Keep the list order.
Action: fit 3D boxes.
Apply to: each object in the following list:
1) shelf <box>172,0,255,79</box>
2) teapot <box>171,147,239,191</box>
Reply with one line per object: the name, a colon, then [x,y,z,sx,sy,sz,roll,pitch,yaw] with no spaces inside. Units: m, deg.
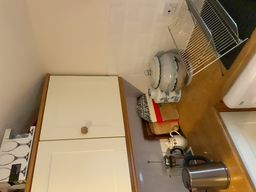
shelf: [0.430,-0.320,1.150,0.340,0.230,0.300,101,165,-50]
teapot: [0.430,0.470,1.240,0.200,0.250,0.260,100,165,-49]
